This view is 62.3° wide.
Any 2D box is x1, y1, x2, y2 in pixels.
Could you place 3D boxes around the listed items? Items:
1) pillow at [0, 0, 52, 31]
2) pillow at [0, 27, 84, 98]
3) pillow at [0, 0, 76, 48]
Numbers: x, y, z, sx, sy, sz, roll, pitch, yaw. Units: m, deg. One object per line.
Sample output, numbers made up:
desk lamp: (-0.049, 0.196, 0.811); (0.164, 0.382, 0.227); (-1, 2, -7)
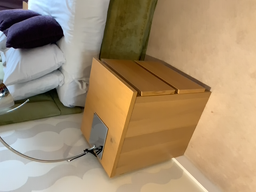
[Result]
pillow: (-0.980, -0.750, 1.900); (0.440, 0.370, 0.230); (21, 110, 36)
pillow: (-0.760, -0.280, 1.580); (0.650, 0.490, 0.270); (28, 112, 26)
pillow: (-0.670, -0.510, 1.510); (0.410, 0.380, 0.180); (27, 111, 24)
